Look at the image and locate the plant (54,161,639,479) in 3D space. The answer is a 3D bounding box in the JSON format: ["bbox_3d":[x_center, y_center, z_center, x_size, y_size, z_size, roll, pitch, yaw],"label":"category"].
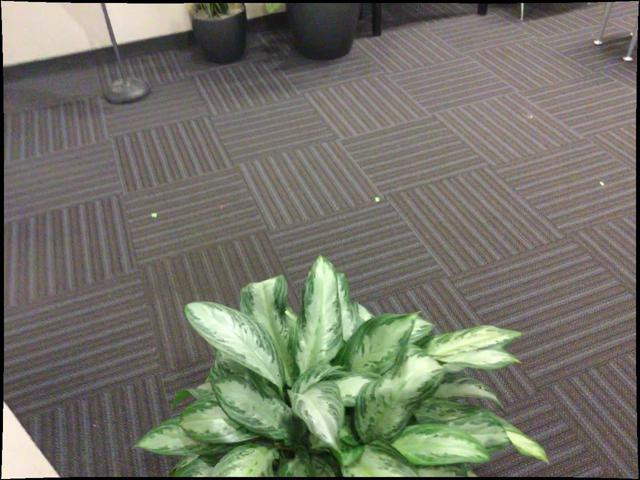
[{"bbox_3d":[0.040,0.411,1.160,0.858,0.611,0.710,-20,45,-8],"label":"plant"}]
